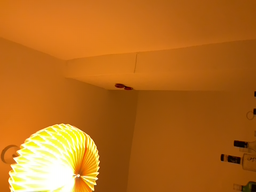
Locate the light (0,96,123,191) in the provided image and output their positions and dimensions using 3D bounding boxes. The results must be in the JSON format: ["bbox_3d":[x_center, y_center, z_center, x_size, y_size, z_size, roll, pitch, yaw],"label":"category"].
[{"bbox_3d":[-0.370,0.310,0.820,0.350,0.450,0.440,31,-88,38],"label":"light"}]
